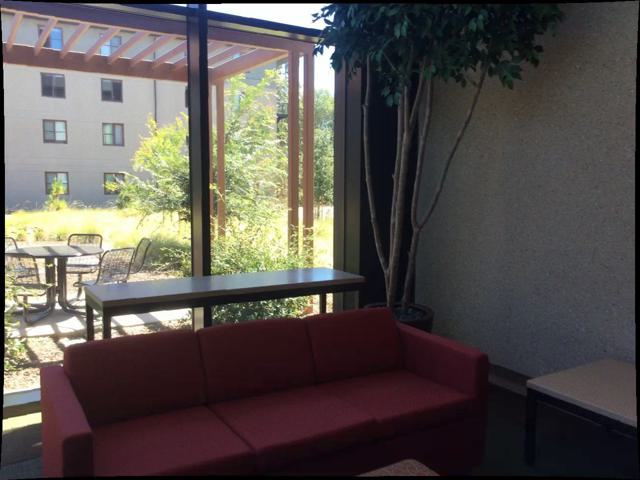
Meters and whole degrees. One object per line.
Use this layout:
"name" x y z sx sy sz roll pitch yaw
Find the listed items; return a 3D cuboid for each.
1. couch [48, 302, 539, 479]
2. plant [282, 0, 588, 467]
"couch" -0.080 0.831 2.630 2.018 0.841 0.880 1 6 -30
"plant" 0.609 -0.280 3.700 0.959 2.714 1.539 1 6 -30
